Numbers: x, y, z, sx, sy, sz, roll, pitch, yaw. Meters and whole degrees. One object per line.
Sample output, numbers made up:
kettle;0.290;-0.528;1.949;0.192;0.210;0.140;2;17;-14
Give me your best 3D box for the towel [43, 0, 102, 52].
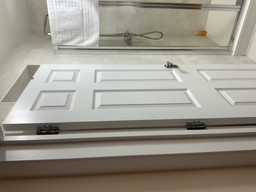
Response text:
towel;-0.500;-0.700;2.000;0.100;0.500;0.540;-102;13;-58
